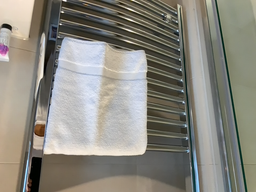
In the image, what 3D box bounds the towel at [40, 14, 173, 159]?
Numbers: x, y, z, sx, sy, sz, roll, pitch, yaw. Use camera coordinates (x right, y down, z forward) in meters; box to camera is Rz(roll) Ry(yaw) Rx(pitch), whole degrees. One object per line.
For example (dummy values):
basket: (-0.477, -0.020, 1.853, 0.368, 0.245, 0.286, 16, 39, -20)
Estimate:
towel: (-0.050, 0.000, 0.560, 0.290, 0.300, 0.150, 9, 169, -25)
